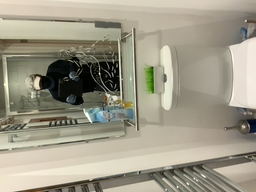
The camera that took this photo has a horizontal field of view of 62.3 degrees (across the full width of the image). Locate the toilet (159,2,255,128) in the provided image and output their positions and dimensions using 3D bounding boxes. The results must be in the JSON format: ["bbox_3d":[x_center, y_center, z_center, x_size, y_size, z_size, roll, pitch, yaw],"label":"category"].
[{"bbox_3d":[0.670,-0.130,1.080,0.630,0.810,0.390,-172,79,-72],"label":"toilet"}]
